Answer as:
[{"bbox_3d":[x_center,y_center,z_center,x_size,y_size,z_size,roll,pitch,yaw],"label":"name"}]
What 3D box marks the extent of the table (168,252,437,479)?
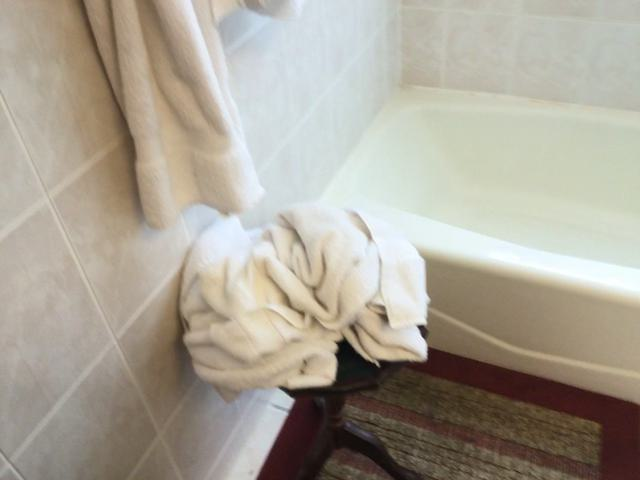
[{"bbox_3d":[0.000,0.330,1.040,0.330,0.520,0.250,14,45,21],"label":"table"}]
